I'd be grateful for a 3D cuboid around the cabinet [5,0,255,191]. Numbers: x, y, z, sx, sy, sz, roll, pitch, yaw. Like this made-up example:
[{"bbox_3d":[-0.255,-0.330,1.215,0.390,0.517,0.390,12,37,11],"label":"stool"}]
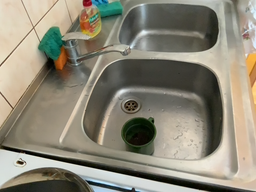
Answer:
[{"bbox_3d":[0.100,0.110,1.040,0.580,0.850,0.810,9,52,12],"label":"cabinet"}]
